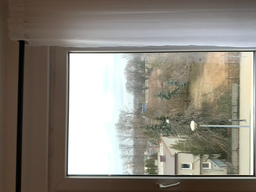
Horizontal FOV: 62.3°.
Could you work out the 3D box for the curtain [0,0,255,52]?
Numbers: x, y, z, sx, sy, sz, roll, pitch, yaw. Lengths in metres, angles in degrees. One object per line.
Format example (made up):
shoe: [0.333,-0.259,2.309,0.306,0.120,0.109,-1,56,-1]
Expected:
curtain: [0.500,-0.450,1.200,0.280,2.690,0.350,-71,-19,-86]

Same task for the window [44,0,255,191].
window: [0.270,0.250,1.450,0.270,1.580,1.770,63,-153,-87]
